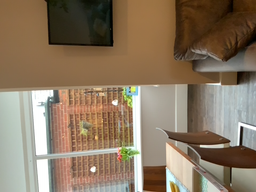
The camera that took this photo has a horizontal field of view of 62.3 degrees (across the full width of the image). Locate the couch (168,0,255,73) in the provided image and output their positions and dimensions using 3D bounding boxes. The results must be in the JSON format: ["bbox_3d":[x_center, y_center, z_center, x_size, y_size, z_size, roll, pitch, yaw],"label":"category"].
[{"bbox_3d":[0.900,-0.840,1.730,1.050,0.790,1.270,-153,61,-77],"label":"couch"}]
